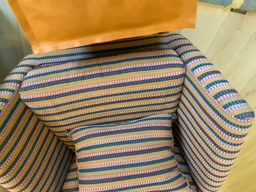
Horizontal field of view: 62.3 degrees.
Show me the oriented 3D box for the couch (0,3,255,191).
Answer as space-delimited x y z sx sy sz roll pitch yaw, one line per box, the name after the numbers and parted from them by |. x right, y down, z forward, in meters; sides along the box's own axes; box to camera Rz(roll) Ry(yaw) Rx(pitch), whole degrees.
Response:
-0.070 0.200 1.020 0.890 0.790 0.830 -7 138 3 | couch

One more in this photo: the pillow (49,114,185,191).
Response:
-0.030 0.260 0.890 0.440 0.350 0.180 -11 106 4 | pillow
